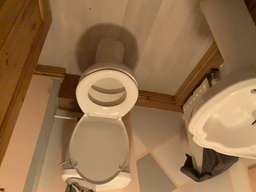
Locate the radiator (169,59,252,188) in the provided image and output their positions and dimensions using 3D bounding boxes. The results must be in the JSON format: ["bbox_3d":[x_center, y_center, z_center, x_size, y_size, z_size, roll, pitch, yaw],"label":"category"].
[{"bbox_3d":[0.510,0.210,1.530,0.140,0.720,0.600,8,144,-10],"label":"radiator"}]

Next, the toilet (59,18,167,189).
[{"bbox_3d":[-0.130,0.080,1.360,0.440,0.800,0.690,8,144,-11],"label":"toilet"}]
